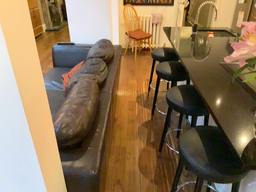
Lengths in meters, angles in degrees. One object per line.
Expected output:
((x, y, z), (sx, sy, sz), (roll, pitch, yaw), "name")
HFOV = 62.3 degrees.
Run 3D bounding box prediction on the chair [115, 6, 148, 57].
((0.060, -1.350, 4.400), (0.340, 0.890, 0.590), (-24, 38, -35), "chair")
